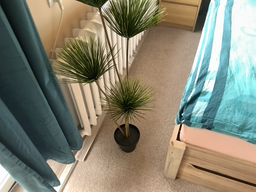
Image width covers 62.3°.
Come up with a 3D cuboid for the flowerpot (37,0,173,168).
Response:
[{"bbox_3d":[-0.030,-0.110,1.070,0.350,1.110,0.420,14,51,14],"label":"flowerpot"}]
